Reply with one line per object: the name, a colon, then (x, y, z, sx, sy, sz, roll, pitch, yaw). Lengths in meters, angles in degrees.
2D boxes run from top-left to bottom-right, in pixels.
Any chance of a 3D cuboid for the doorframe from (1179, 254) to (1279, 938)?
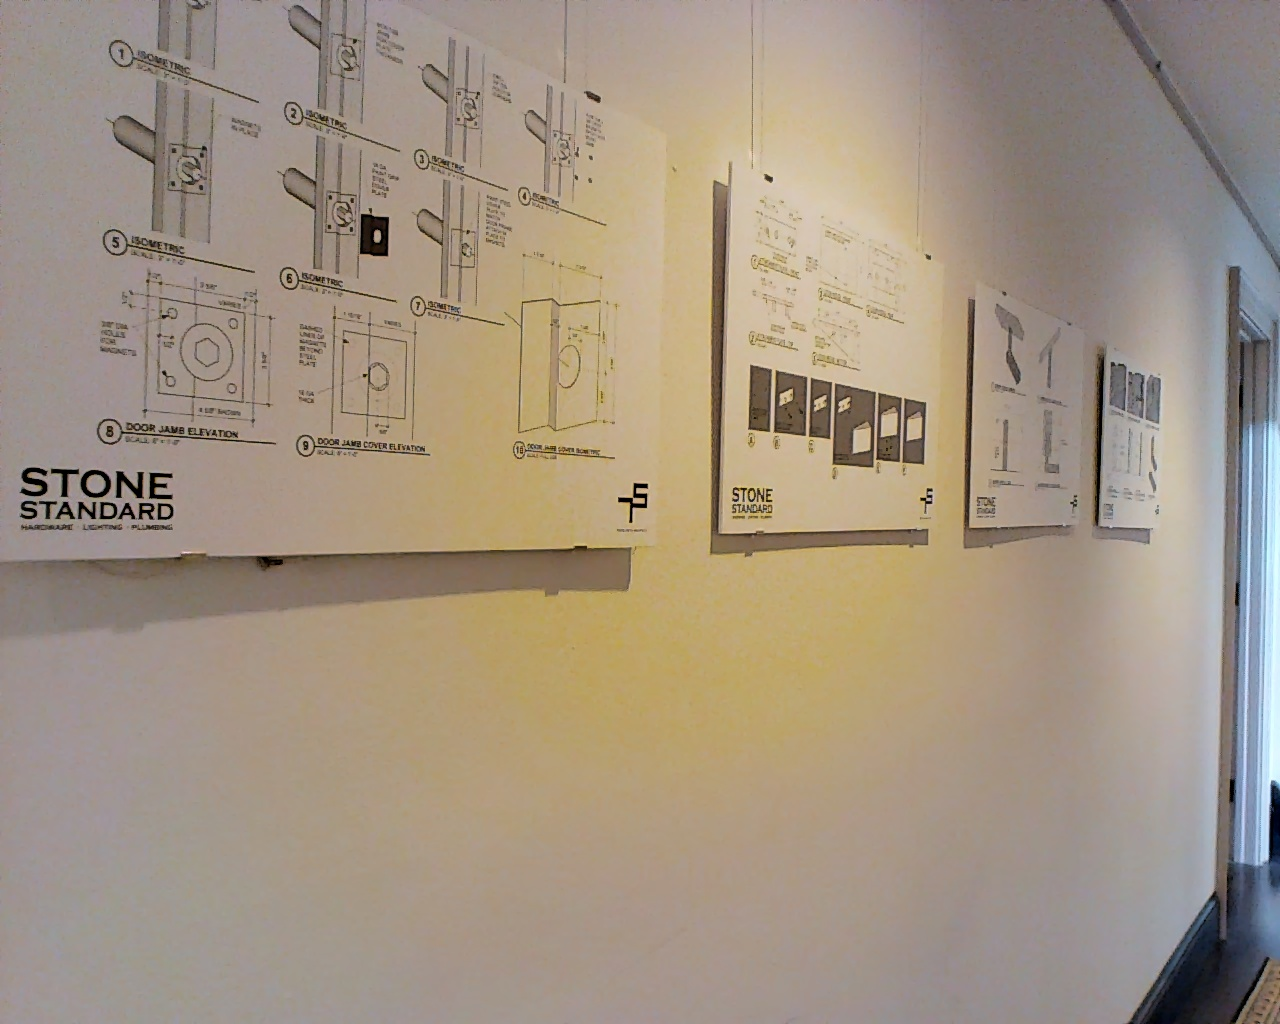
doorframe: (2.410, 0.300, 4.300, 0.180, 2.400, 1.200, 1, 0, 37)
